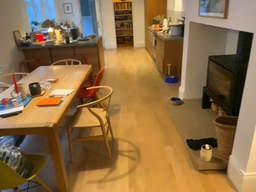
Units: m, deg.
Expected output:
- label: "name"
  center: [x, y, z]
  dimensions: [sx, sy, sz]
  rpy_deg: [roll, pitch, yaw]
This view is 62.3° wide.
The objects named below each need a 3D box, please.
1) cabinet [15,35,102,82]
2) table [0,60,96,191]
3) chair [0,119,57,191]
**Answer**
- label: "cabinet"
  center: [-1.610, -0.930, 5.200]
  dimensions: [1.800, 0.930, 0.590]
  rpy_deg: [-3, 23, -1]
- label: "table"
  center: [-1.040, 0.170, 2.760]
  dimensions: [0.910, 0.730, 2.080]
  rpy_deg: [-3, 23, 1]
- label: "chair"
  center: [-0.900, 0.630, 1.660]
  dimensions: [0.410, 0.740, 0.470]
  rpy_deg: [-2, 23, 2]
